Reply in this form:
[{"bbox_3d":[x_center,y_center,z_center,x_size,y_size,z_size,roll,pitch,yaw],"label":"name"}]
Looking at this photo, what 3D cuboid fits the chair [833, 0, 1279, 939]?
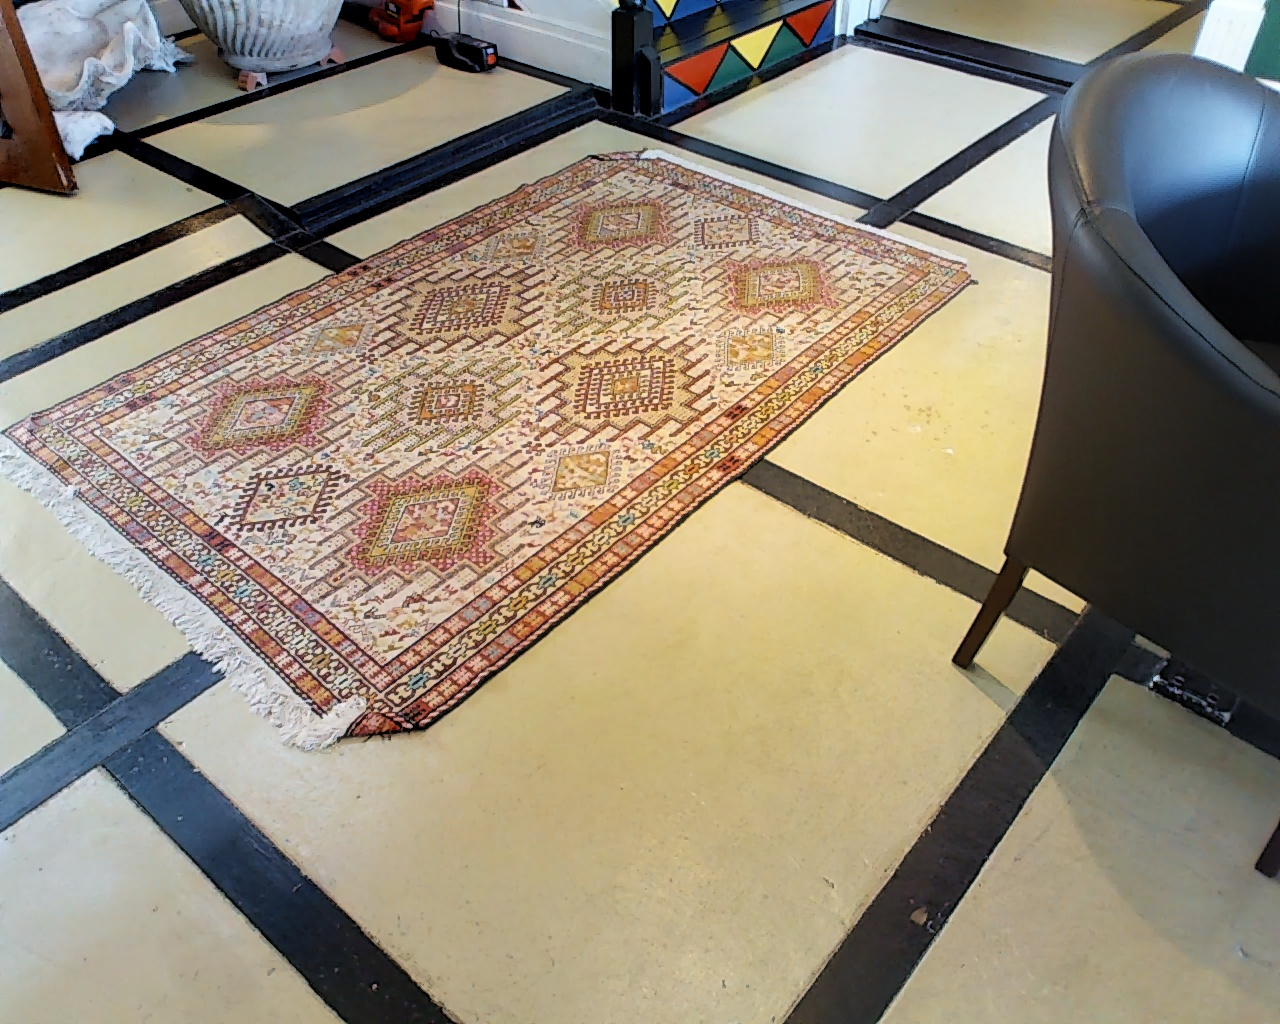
[{"bbox_3d":[0.800,-0.090,1.430,0.710,0.860,0.690,30,49,29],"label":"chair"}]
